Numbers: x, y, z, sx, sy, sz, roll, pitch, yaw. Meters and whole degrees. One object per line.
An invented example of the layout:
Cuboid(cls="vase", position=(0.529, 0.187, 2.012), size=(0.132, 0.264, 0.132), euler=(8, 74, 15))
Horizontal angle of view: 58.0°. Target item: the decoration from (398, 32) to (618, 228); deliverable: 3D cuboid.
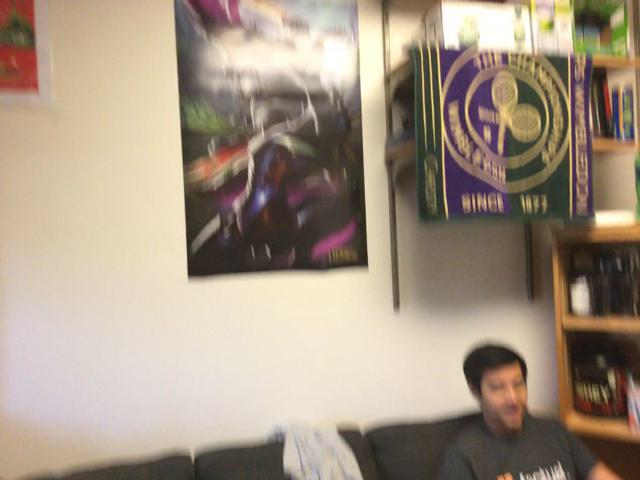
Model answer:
Cuboid(cls="decoration", position=(0.660, -0.360, 2.020), size=(0.750, 0.620, 0.160), euler=(-1, -1, -16))

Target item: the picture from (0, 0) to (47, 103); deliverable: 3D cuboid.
Cuboid(cls="picture", position=(-1.030, -0.640, 1.820), size=(0.300, 0.390, 0.050), euler=(-1, -1, -16))

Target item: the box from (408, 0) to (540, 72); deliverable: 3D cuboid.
Cuboid(cls="box", position=(0.550, -0.750, 2.110), size=(0.360, 0.160, 0.300), euler=(-1, -1, -16))
